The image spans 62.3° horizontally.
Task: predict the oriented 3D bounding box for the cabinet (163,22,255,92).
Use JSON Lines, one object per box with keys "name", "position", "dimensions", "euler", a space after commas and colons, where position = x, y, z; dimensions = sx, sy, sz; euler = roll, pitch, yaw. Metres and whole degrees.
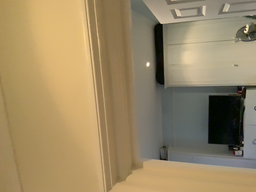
{"name": "cabinet", "position": [2.140, -0.880, 5.070], "dimensions": [0.360, 2.510, 1.520], "euler": [-27, -64, -69]}
